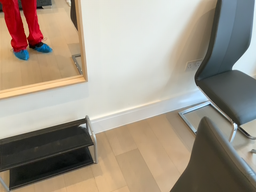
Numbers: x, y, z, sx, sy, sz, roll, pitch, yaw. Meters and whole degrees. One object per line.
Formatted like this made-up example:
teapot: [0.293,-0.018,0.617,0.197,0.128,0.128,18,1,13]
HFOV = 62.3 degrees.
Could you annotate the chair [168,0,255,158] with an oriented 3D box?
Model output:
chair: [0.740,-0.130,1.550,0.450,1.030,0.560,-16,47,-22]
